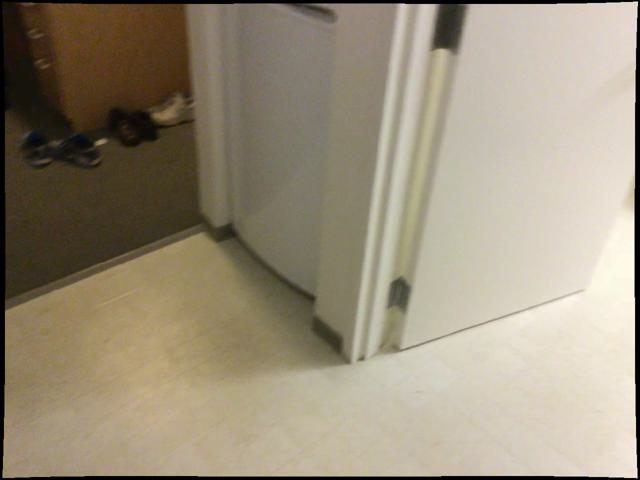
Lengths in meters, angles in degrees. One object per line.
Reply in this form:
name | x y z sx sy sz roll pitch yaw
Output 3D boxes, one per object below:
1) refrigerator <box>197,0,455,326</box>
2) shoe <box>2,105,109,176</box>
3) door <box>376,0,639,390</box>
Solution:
refrigerator | -0.020 -0.531 1.850 0.410 1.471 0.680 -26 46 -34
shoe | -1.299 -0.501 2.830 0.320 0.090 0.470 -26 46 -33
door | 0.669 -0.320 1.740 0.870 1.381 0.340 -26 46 -34
